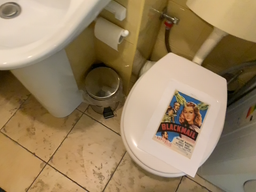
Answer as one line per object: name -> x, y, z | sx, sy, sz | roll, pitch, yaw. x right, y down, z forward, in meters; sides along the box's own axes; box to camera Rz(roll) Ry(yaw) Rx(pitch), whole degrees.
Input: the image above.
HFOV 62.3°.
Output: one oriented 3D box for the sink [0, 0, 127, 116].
sink -> -0.320, -0.270, 0.510 | 0.520, 0.130, 0.410 | 29, 69, 7
